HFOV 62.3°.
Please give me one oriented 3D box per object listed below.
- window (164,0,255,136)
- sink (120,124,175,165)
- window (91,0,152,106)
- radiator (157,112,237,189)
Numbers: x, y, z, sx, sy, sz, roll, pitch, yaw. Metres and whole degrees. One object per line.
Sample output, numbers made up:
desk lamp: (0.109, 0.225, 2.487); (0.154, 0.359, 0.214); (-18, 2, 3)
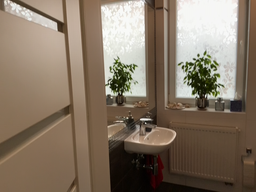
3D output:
window: (0.880, -0.480, 2.340); (0.930, 1.720, 0.210); (3, 9, 26)
sink: (0.190, 0.400, 1.850); (0.340, 0.160, 0.460); (2, 9, 24)
window: (-0.080, -0.620, 2.820); (0.770, 1.460, 0.140); (2, 9, 21)
radiator: (0.740, 0.580, 2.380); (0.820, 0.740, 0.130); (2, 9, 23)
